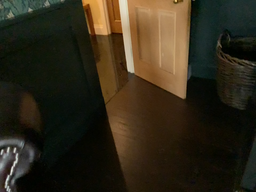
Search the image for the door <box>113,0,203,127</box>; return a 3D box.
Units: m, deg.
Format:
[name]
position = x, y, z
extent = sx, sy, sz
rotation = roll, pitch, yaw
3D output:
[door]
position = 0.200, -0.840, 1.890
extent = 0.140, 2.300, 0.980
rotation = -28, 40, -28
